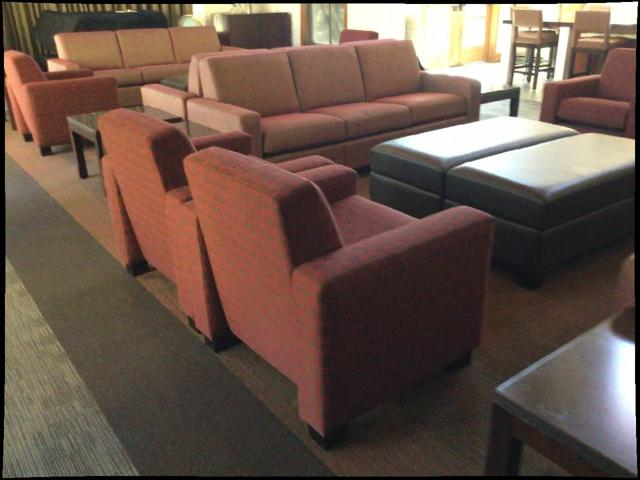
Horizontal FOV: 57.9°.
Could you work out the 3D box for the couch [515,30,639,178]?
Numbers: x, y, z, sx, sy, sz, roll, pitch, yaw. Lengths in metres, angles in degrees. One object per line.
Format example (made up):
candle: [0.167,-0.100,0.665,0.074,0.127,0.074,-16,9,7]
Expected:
couch: [2.128,-1.051,4.260,0.909,0.811,0.850,-19,31,-32]

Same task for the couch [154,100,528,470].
couch: [0.050,0.040,2.040,0.850,0.801,0.870,-19,31,-32]

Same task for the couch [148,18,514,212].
couch: [0.180,-1.091,4.380,2.539,0.871,1.050,-19,31,-32]

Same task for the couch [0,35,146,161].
couch: [-2.278,-1.301,5.110,1.039,0.811,0.920,-19,31,-32]

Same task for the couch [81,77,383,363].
couch: [-0.400,-0.200,2.600,0.860,0.801,1.060,-19,31,-32]

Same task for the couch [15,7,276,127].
couch: [-1.918,-2.112,6.780,2.668,0.941,0.930,-19,31,-32]
